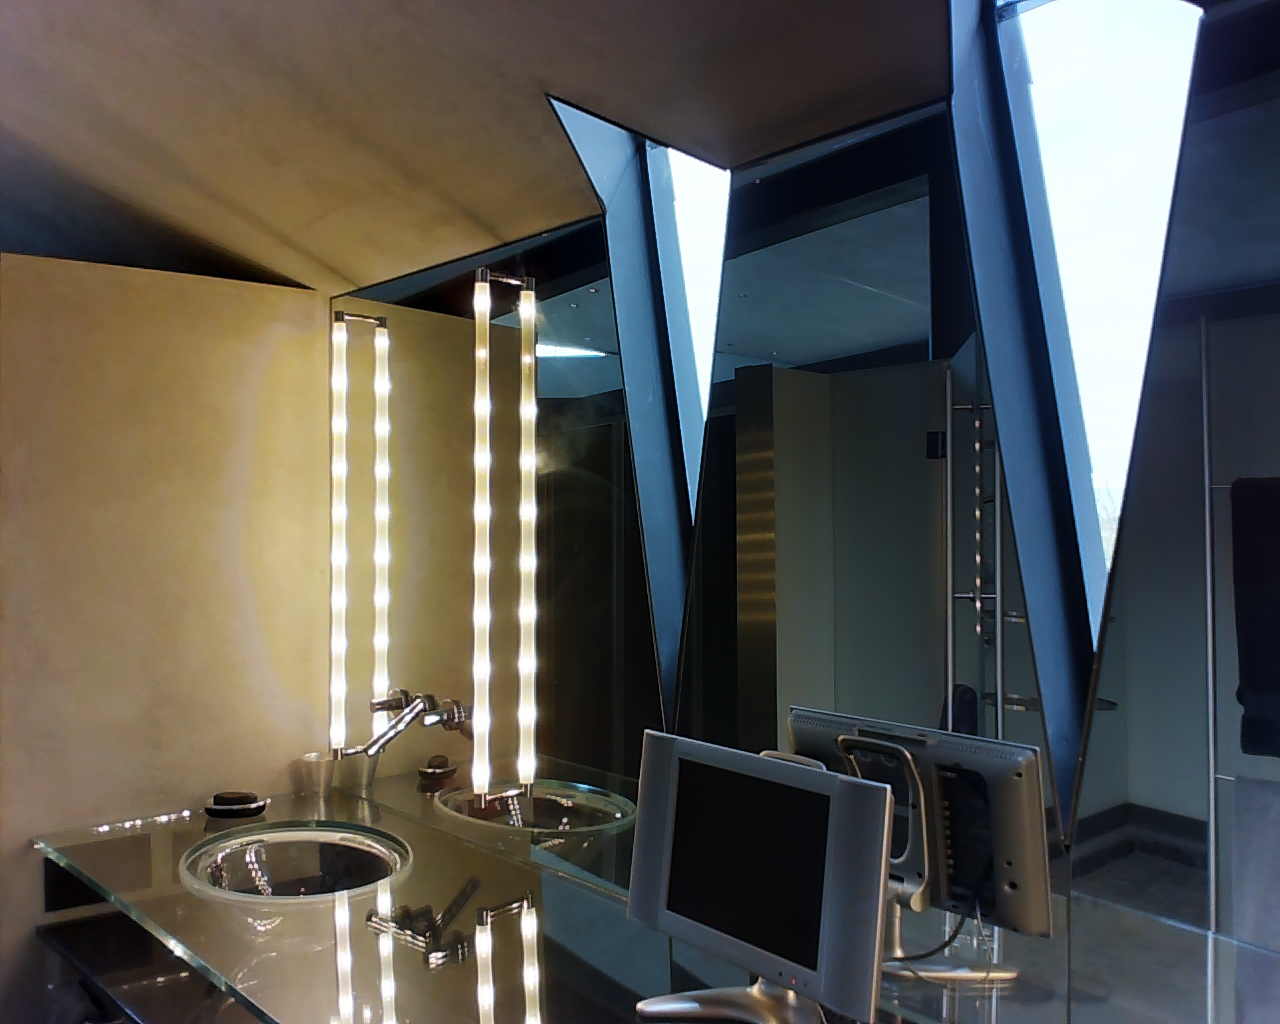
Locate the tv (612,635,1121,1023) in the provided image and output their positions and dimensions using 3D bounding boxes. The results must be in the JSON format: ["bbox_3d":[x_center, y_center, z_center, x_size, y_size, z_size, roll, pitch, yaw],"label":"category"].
[{"bbox_3d":[0.290,0.420,1.480,0.390,0.410,0.520,5,2,-37],"label":"tv"}]
